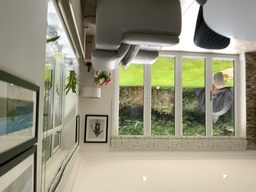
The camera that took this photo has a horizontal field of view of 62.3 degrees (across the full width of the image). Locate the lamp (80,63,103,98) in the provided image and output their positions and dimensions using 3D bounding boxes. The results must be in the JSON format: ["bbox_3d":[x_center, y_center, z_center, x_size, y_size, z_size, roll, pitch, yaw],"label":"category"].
[{"bbox_3d":[-0.720,-0.290,4.170,0.410,0.630,0.380,2,177,-10],"label":"lamp"}]

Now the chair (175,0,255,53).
[{"bbox_3d":[0.780,-0.830,1.630,0.630,0.810,0.530,-1,176,43],"label":"chair"}]

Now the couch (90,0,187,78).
[{"bbox_3d":[0.060,-0.770,3.010,1.110,0.810,1.180,2,177,-9],"label":"couch"}]
